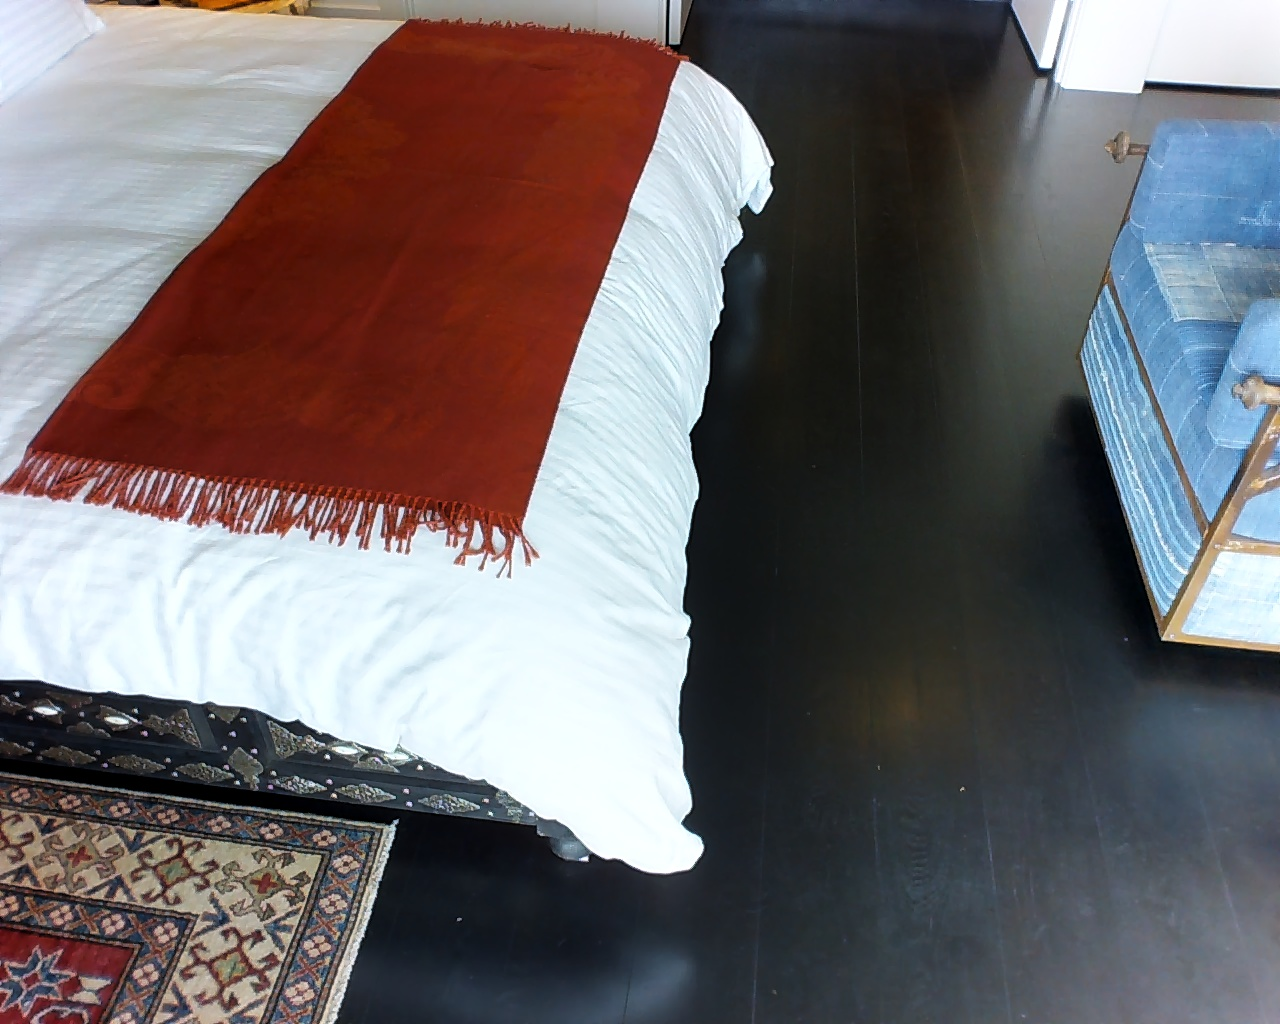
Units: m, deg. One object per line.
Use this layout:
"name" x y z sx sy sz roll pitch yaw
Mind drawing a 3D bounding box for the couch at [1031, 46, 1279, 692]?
"couch" 1.480 -0.280 2.060 1.100 0.780 1.030 5 43 5

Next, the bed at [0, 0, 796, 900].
"bed" -0.970 -0.590 2.230 2.470 1.000 2.120 5 43 5
